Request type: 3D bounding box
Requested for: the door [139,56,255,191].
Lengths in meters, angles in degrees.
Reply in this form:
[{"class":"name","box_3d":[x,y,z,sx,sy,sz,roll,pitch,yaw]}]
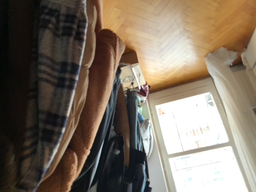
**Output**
[{"class":"door","box_3d":[0.950,0.690,2.710,1.210,2.370,0.160,-17,154,14]}]
